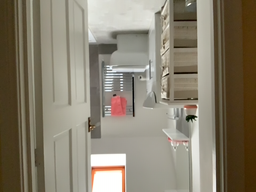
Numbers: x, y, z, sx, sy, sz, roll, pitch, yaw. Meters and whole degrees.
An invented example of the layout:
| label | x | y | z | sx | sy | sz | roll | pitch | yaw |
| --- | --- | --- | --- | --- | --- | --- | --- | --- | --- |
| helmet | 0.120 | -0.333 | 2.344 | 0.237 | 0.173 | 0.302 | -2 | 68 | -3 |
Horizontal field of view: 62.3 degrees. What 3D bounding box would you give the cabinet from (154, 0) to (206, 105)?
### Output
| label | x | y | z | sx | sy | sz | roll | pitch | yaw |
| --- | --- | --- | --- | --- | --- | --- | --- | --- | --- |
| cabinet | 0.390 | -0.360 | 1.680 | 0.320 | 0.830 | 0.370 | -1 | -179 | 0 |
